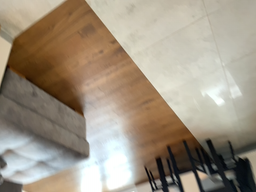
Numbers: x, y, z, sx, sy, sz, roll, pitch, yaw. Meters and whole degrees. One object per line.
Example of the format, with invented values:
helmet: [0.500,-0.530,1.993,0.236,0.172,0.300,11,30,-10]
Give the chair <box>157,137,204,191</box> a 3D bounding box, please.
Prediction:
chair: [0.770,1.140,2.980,0.400,0.900,0.520,-21,142,12]
